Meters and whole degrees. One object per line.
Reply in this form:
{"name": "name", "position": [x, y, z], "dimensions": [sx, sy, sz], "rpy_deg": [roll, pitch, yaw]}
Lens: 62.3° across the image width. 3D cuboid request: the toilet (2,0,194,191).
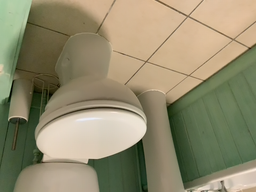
{"name": "toilet", "position": [-0.200, 0.170, 0.840], "dimensions": [0.420, 0.800, 0.670], "rpy_deg": [13, 144, -30]}
